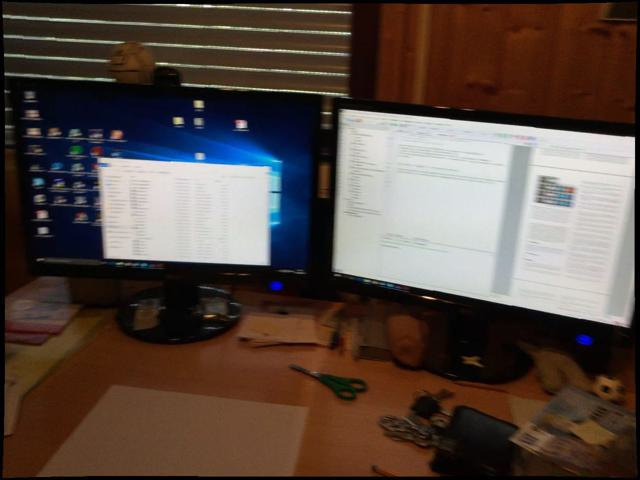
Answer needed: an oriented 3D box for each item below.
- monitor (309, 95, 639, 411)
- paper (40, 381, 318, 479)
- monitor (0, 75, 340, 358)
[{"bbox_3d":[0.260,0.000,0.970,0.510,0.420,0.180,9,21,16],"label":"monitor"},{"bbox_3d":[-0.170,0.270,0.770,0.310,0.010,0.220,5,21,5],"label":"paper"},{"bbox_3d":[-0.250,-0.050,1.030,0.529,0.430,0.260,1,21,-3],"label":"monitor"}]
